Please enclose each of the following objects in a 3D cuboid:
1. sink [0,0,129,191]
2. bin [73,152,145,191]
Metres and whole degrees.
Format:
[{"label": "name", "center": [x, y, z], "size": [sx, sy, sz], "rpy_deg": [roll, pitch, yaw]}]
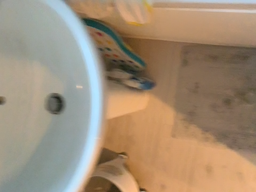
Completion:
[{"label": "sink", "center": [-0.250, 0.010, 0.590], "size": [0.370, 0.220, 0.560], "rpy_deg": [11, 97, 22]}, {"label": "bin", "center": [-0.110, 0.520, 1.220], "size": [0.340, 0.210, 0.270], "rpy_deg": [6, 95, 22]}]
